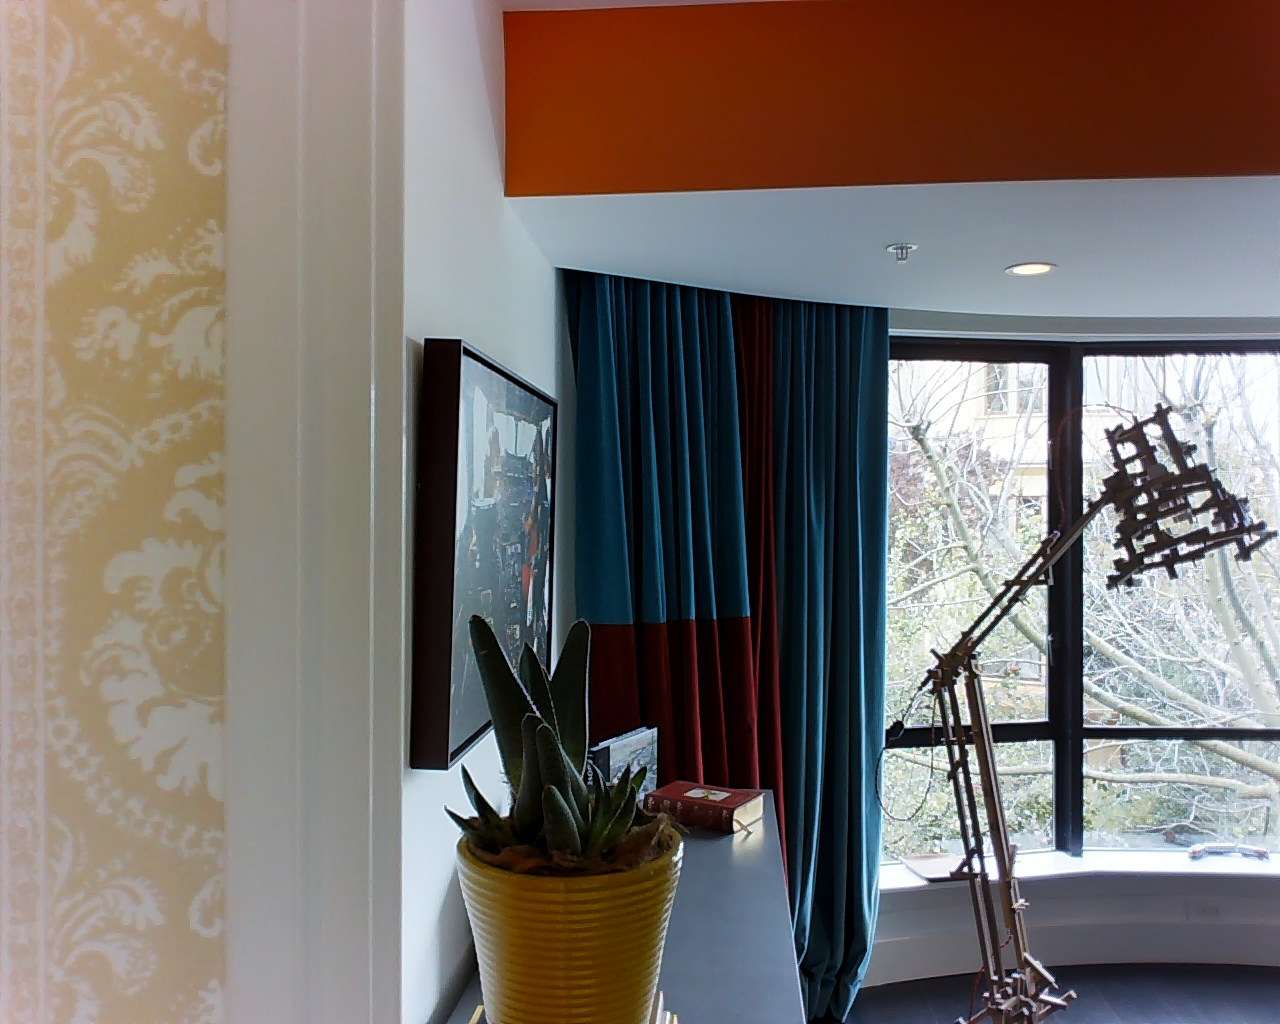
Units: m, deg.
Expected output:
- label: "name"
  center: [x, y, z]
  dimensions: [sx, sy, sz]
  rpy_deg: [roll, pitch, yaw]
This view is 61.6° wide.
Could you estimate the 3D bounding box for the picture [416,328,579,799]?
- label: "picture"
  center: [-0.220, 0.070, 1.920]
  dimensions: [0.080, 0.640, 0.920]
  rpy_deg: [0, 0, 6]
